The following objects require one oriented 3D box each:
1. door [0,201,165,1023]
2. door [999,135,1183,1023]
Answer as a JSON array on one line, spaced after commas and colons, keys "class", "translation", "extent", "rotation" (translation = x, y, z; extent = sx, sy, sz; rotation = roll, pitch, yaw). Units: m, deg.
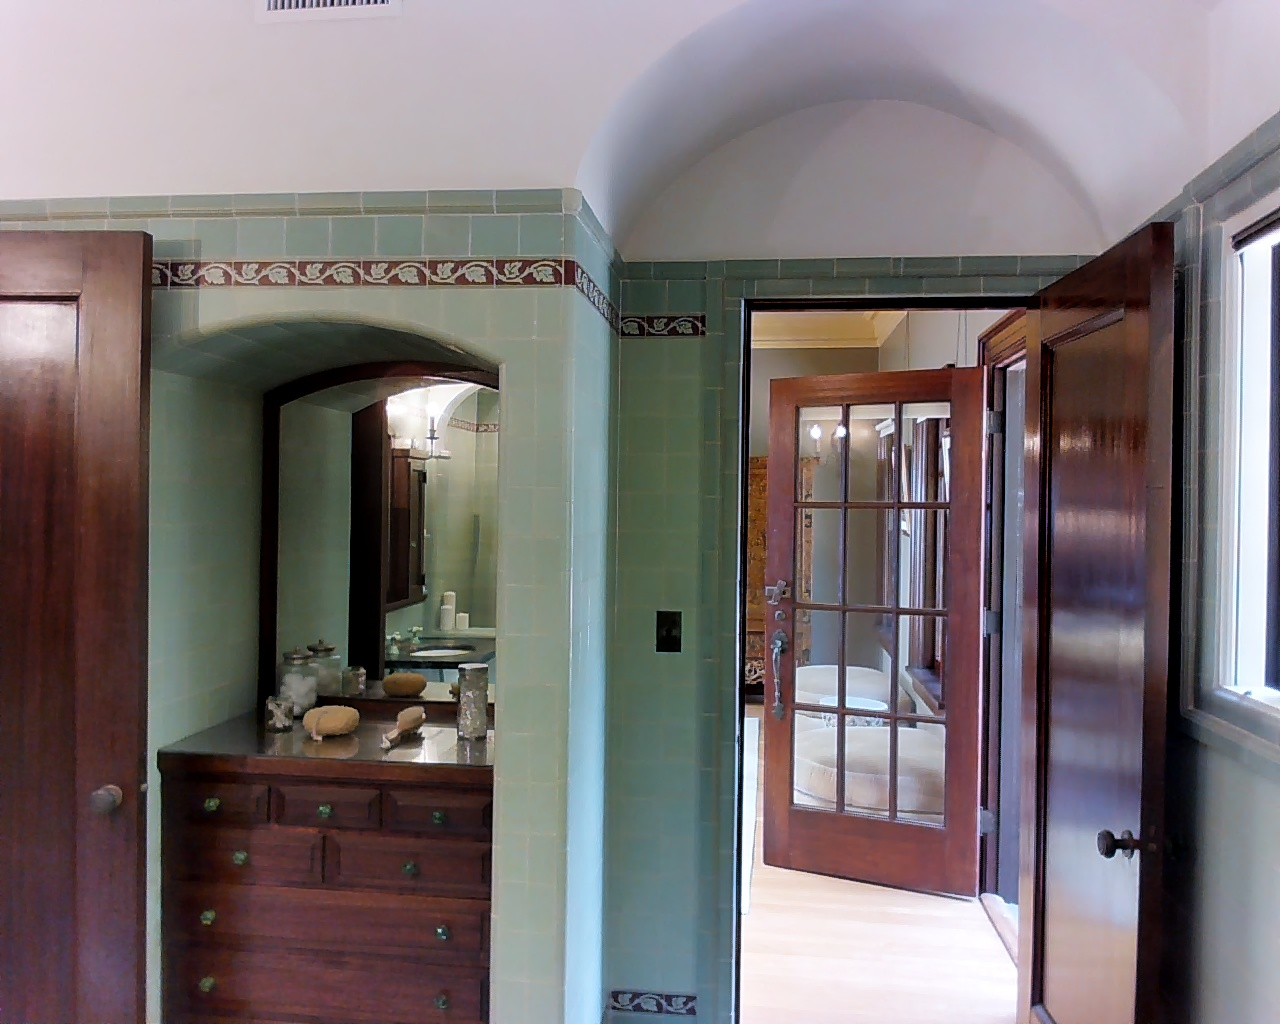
[{"class": "door", "translation": [-1.460, 0.430, 2.330], "extent": [0.790, 2.180, 0.080], "rotation": [1, 0, -1]}, {"class": "door", "translation": [0.990, 0.440, 2.460], "extent": [0.060, 2.290, 0.890], "rotation": [1, 0, 4]}]
